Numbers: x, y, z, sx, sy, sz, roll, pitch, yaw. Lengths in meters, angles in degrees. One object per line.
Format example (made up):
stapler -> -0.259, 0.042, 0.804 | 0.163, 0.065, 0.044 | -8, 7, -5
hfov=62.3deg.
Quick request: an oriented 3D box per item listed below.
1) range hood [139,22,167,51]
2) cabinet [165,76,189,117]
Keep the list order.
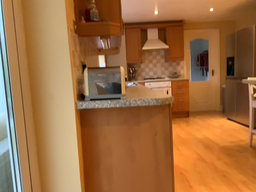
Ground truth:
range hood -> 0.580, -1.390, 4.980 | 0.560, 0.550, 0.490 | -4, 6, -3
cabinet -> 1.160, -0.010, 5.090 | 0.390, 0.900, 0.590 | -4, 6, -3
